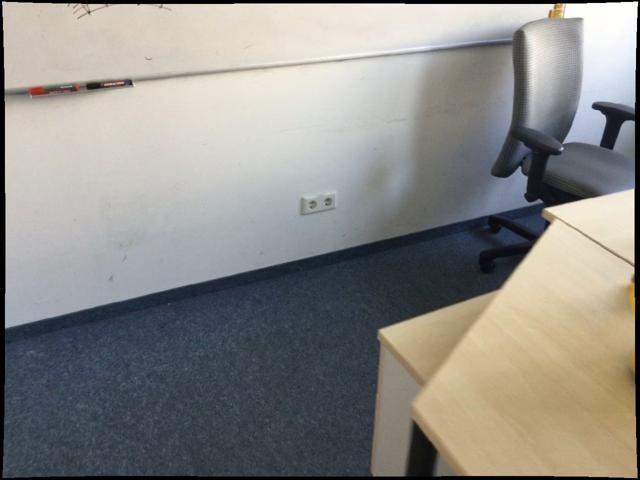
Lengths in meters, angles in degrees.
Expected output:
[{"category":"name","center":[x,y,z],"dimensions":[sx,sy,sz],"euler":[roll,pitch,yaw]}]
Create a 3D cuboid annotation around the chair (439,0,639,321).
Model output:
[{"category":"chair","center":[1.029,-0.380,2.330],"dimensions":[0.710,0.991,0.690],"euler":[-28,42,-35]}]
